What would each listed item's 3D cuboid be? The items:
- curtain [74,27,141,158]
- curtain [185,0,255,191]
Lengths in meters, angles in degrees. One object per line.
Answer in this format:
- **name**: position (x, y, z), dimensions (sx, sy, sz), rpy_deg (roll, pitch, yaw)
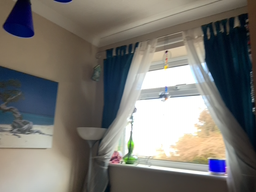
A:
- **curtain**: position (-0.190, -0.020, 2.000), dimensions (0.590, 1.110, 0.180), rpy_deg (-7, -16, 38)
- **curtain**: position (0.640, -0.030, 1.470), dimensions (0.450, 1.380, 0.140), rpy_deg (-6, -15, 36)
